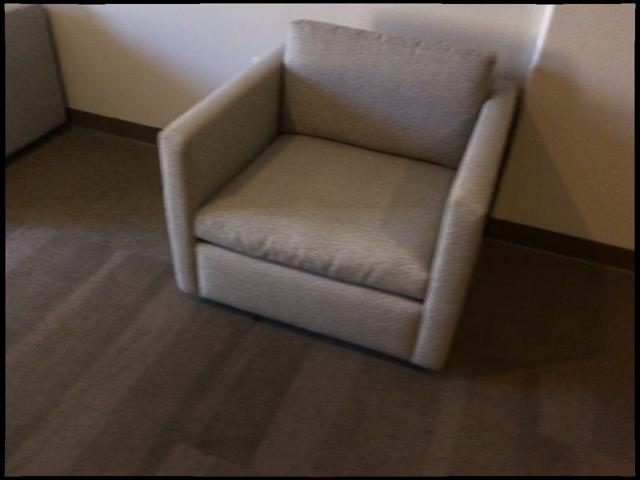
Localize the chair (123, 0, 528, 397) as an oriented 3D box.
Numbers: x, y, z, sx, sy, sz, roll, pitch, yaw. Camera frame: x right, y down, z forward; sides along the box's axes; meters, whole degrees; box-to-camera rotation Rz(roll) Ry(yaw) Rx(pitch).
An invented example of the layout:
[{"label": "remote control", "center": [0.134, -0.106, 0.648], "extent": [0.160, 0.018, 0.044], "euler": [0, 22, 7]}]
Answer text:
[{"label": "chair", "center": [0.080, -0.220, 1.890], "extent": [0.899, 0.741, 0.940], "euler": [15, 40, 14]}]
